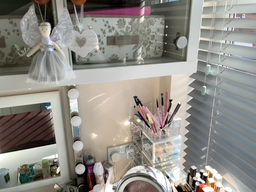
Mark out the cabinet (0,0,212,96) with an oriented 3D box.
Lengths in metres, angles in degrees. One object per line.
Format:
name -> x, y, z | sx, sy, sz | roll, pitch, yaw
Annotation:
cabinet -> -0.210, -0.280, 0.630 | 0.790, 0.420, 0.400 | -8, 21, -19
